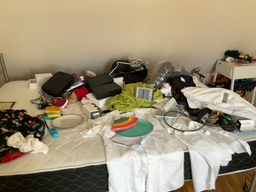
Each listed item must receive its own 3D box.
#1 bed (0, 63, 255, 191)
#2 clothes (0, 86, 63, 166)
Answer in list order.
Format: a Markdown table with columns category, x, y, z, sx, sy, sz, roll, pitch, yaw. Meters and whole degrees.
| category | x | y | z | sx | sy | sz | roll | pitch | yaw |
| --- | --- | --- | --- | --- | --- | --- | --- | --- | --- |
| bed | -0.220 | 0.270 | 1.890 | 2.010 | 0.580 | 1.560 | -5 | 26 | -11 |
| clothes | -0.820 | 0.170 | 1.290 | 0.570 | 0.130 | 0.670 | -21 | 32 | -36 |
